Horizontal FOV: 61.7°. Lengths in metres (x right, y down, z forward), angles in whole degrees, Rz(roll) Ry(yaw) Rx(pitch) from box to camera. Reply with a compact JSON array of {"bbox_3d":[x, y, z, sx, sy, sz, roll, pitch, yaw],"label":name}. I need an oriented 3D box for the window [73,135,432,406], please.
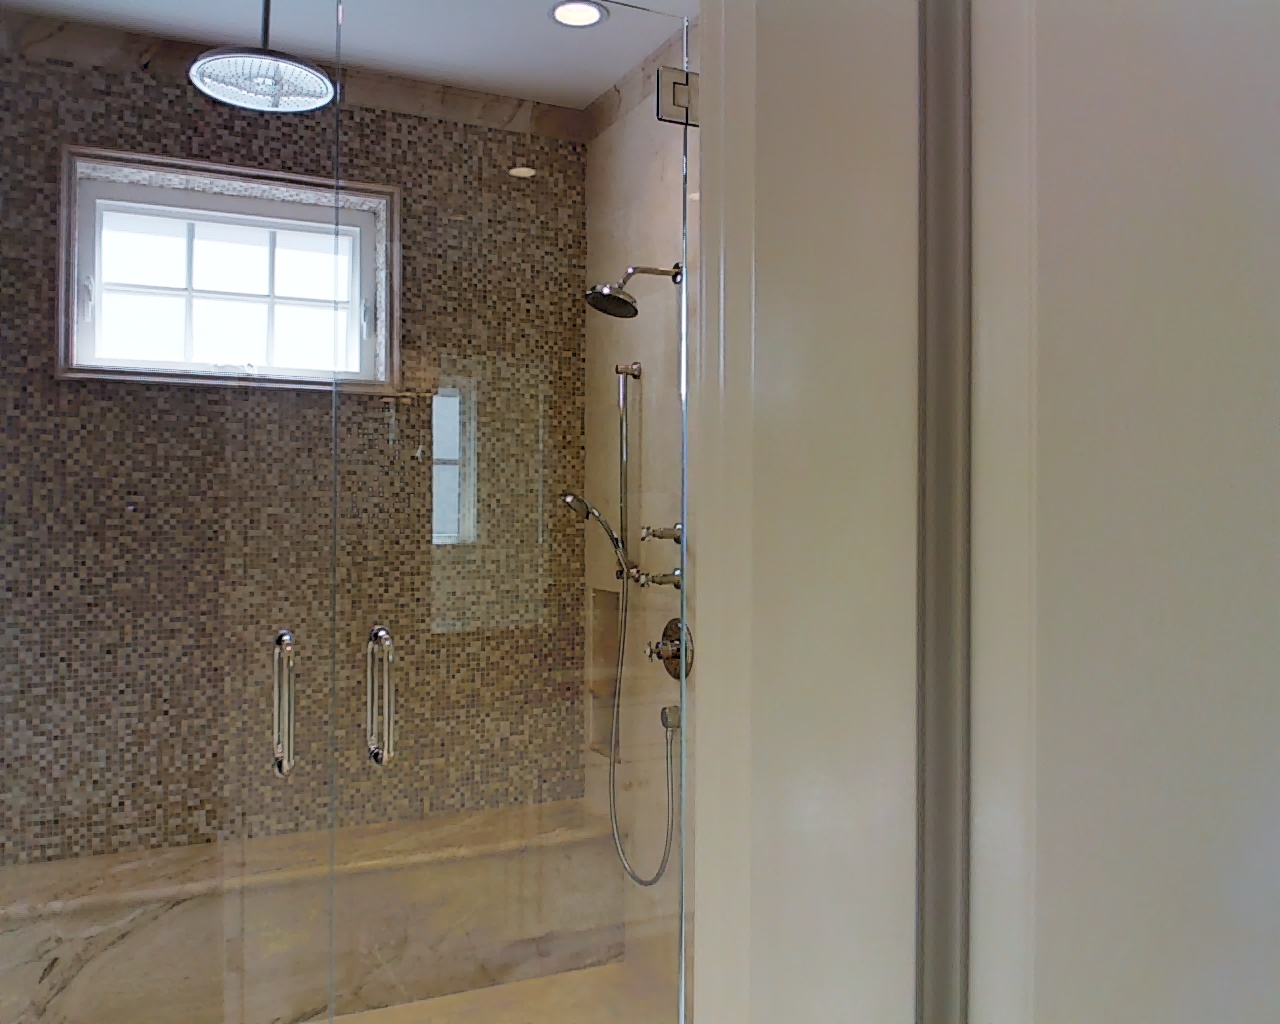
[{"bbox_3d":[-1.159,-0.700,3.280,1.000,0.680,0.220,1,-1,-25],"label":"window"}]
